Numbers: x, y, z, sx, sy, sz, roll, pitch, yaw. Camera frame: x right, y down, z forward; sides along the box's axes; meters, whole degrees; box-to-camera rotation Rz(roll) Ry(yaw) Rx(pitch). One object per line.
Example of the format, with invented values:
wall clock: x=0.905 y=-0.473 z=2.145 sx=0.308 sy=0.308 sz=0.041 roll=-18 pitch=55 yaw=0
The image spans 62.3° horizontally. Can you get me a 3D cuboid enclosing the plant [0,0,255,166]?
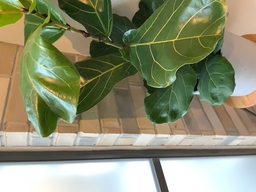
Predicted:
plant: x=0.040 y=-0.150 z=0.620 sx=0.560 sy=1.000 sz=0.510 roll=125 pitch=143 yaw=-49
